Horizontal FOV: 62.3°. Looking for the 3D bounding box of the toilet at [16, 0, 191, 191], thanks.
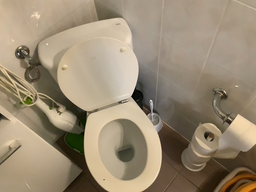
[{"bbox_3d":[-0.110,0.120,1.070,0.420,0.800,0.650,-21,61,-7],"label":"toilet"}]
